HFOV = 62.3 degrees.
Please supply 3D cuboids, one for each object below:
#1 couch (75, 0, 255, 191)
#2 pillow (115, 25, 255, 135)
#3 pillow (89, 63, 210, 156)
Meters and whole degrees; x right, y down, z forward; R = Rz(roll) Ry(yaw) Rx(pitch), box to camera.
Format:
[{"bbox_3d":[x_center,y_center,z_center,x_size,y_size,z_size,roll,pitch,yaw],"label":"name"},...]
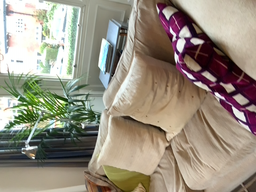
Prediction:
[{"bbox_3d":[0.220,0.300,1.570,0.960,0.770,2.190,-113,34,-42],"label":"couch"},{"bbox_3d":[0.320,-0.130,0.970,0.560,0.490,0.150,37,122,27],"label":"pillow"},{"bbox_3d":[0.140,0.080,1.360,0.630,0.550,0.160,-44,75,37],"label":"pillow"}]
